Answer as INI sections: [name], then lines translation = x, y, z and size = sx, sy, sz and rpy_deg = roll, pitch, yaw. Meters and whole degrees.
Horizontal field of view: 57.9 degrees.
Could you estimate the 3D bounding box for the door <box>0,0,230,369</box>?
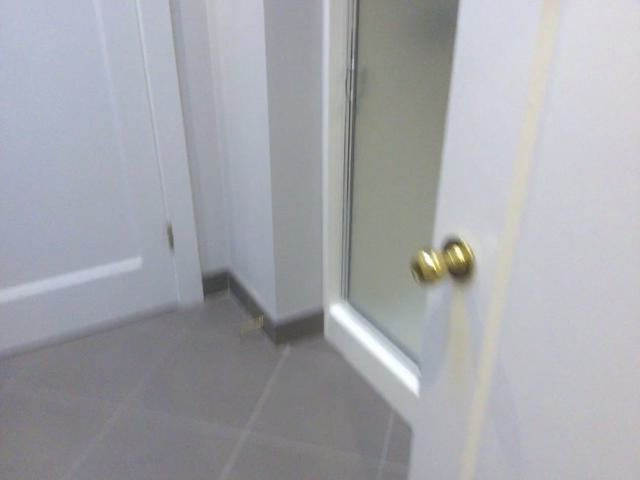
[door]
translation = -0.780, -0.590, 1.500
size = 1.040, 2.060, 0.070
rpy_deg = -16, 32, -30
